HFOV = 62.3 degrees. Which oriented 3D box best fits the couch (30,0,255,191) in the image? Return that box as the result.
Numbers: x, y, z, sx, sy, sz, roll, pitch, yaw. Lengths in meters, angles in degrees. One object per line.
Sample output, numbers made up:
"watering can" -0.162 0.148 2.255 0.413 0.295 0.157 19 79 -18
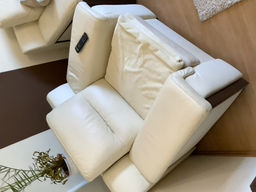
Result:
"couch" -0.010 0.030 1.500 1.010 0.880 1.020 44 136 25
